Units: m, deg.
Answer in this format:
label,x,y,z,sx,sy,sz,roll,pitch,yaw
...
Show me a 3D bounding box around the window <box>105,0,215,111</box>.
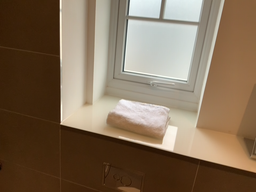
label,x,y,z,sx,sy,sz,roll,pitch,yaw
window,0.160,-0.380,1.160,0.530,0.880,0.050,11,20,14
